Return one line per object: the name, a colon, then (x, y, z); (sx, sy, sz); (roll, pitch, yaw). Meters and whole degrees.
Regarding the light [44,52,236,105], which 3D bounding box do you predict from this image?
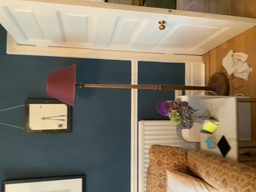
light: (0.140, -0.130, 2.260); (0.550, 1.850, 0.390); (153, 117, -76)
